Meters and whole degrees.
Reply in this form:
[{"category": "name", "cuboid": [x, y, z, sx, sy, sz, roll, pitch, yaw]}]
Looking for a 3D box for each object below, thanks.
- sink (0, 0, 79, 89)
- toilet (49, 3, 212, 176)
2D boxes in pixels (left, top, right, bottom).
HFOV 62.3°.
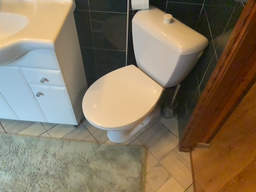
[{"category": "sink", "cuboid": [-0.710, -0.310, 0.990, 0.840, 0.160, 0.480, 6, 53, 2]}, {"category": "toilet", "cuboid": [0.020, -0.010, 1.270, 0.650, 0.750, 0.400, -36, 62, -26]}]
